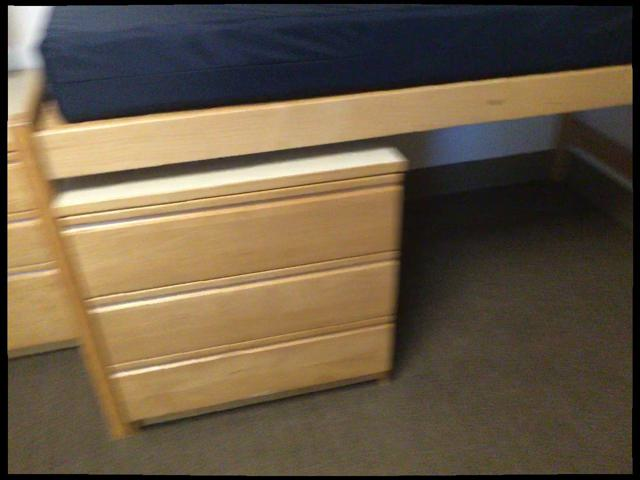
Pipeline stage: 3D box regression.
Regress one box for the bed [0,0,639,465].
[{"bbox_3d":[0.289,-0.341,1.970,2.236,1.111,1.100,-11,35,-14],"label":"bed"}]
